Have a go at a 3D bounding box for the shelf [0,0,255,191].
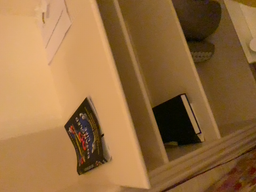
[{"bbox_3d":[-0.410,-0.030,0.480,0.440,2.460,0.760,-29,76,54],"label":"shelf"}]
